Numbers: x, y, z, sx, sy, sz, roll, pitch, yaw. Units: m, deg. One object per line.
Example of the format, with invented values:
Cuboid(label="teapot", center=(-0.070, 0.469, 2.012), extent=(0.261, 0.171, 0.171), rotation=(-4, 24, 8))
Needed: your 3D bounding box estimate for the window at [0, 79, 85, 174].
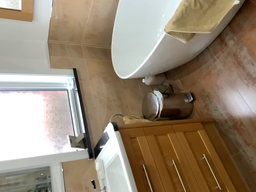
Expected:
Cuboid(label="window", center=(-1.030, 0.230, 1.760), extent=(0.280, 1.170, 0.740), rotation=(-60, 40, 45))

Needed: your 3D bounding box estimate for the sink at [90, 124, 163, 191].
Cuboid(label="sink", center=(-0.010, 0.610, 1.310), extent=(0.490, 0.200, 0.710), rotation=(-59, 41, 45))

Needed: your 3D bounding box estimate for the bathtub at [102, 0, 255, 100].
Cuboid(label="bathtub", center=(0.410, -0.800, 1.590), extent=(1.770, 0.580, 0.810), rotation=(-56, 43, 47))
